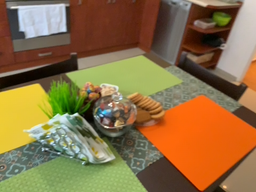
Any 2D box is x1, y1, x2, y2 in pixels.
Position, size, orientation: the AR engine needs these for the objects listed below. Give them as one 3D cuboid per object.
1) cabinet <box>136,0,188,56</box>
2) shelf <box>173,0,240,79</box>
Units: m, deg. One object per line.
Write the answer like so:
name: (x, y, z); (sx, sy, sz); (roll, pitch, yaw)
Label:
cabinet: (0.480, -1.060, 3.000); (0.600, 0.860, 0.220); (-19, 45, -35)
shelf: (0.940, -0.690, 2.610); (0.540, 0.850, 0.260); (-19, 45, -35)
